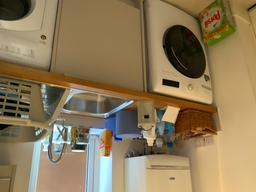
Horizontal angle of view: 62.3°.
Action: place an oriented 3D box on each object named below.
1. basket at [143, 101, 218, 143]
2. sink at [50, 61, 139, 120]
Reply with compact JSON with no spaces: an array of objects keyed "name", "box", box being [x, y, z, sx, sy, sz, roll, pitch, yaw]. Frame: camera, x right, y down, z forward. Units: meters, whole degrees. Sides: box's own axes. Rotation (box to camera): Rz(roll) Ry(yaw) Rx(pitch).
[{"name":"basket","box":[0.430,0.250,1.830,0.370,0.220,0.490,11,156,-30]},{"name":"sink","box":[-0.270,0.000,1.580,0.470,0.190,0.540,11,156,-30]}]
